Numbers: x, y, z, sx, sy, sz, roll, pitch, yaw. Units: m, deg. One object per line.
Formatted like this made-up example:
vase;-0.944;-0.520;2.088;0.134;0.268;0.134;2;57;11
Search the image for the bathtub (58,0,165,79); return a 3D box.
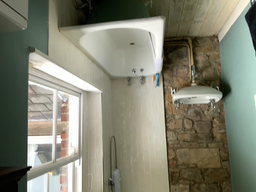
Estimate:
bathtub;-0.020;-0.620;2.230;0.710;0.540;1.660;-3;173;7
